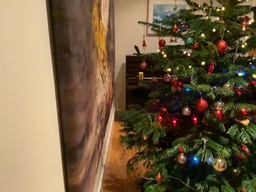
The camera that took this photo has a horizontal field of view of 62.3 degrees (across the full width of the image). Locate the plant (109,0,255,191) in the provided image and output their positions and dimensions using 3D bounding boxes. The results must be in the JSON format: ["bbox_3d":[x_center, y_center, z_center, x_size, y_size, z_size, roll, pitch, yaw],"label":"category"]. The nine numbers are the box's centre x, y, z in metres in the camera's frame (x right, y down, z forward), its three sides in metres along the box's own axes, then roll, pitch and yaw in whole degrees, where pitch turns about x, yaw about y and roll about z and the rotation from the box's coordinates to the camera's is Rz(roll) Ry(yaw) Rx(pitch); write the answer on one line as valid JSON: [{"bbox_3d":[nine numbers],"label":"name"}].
[{"bbox_3d":[0.810,-0.220,1.750,1.810,2.150,1.630,0,17,-1],"label":"plant"}]
